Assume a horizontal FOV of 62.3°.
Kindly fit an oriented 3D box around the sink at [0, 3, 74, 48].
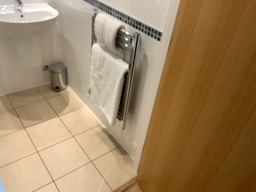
[{"bbox_3d":[-0.810,-0.600,1.740,0.580,0.170,0.410,-20,45,-34],"label":"sink"}]
